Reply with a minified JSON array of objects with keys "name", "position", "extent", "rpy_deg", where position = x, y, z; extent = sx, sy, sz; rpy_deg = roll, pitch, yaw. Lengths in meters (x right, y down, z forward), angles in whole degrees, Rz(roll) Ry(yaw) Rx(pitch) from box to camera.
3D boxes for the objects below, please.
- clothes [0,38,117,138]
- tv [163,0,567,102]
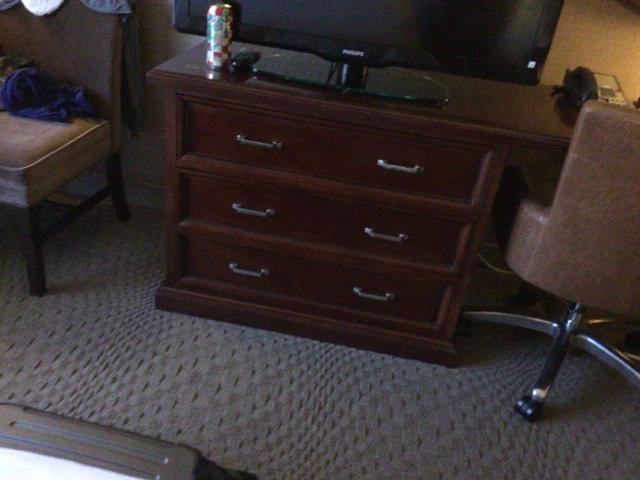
[{"name":"clothes","position":[-0.990,-0.520,1.920],"extent":[0.530,0.220,0.260],"rpy_deg":[9,27,2]},{"name":"tv","position":[0.120,-0.760,1.470],"extent":[1.020,0.650,0.120],"rpy_deg":[9,27,2]}]
